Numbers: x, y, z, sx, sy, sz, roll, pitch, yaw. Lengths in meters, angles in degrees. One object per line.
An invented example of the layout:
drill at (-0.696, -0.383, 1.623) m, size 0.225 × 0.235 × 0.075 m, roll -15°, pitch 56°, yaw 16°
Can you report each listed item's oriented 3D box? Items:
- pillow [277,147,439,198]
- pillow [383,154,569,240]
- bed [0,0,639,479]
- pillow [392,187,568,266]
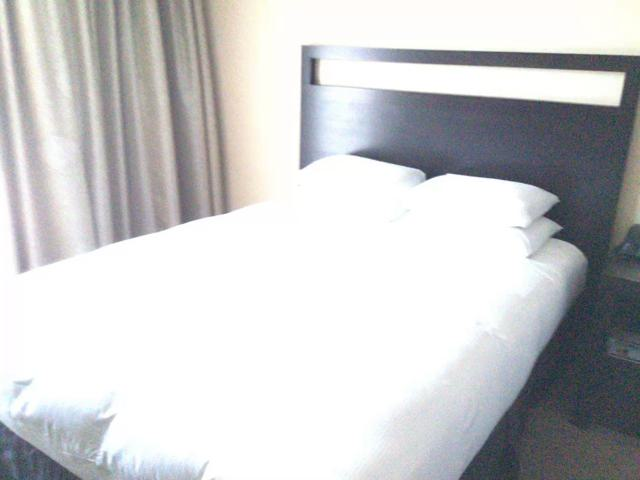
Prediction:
pillow at (0.180, -0.340, 2.790) m, size 0.640 × 0.110 × 0.440 m, roll 13°, pitch 21°, yaw 34°
pillow at (0.670, -0.210, 2.490) m, size 0.620 × 0.200 × 0.490 m, roll 13°, pitch 21°, yaw 34°
bed at (0.010, 0.010, 2.130) m, size 1.730 × 1.540 × 2.190 m, roll 13°, pitch 21°, yaw 34°
pillow at (0.680, -0.080, 2.460) m, size 0.580 × 0.140 × 0.470 m, roll 13°, pitch 21°, yaw 34°
